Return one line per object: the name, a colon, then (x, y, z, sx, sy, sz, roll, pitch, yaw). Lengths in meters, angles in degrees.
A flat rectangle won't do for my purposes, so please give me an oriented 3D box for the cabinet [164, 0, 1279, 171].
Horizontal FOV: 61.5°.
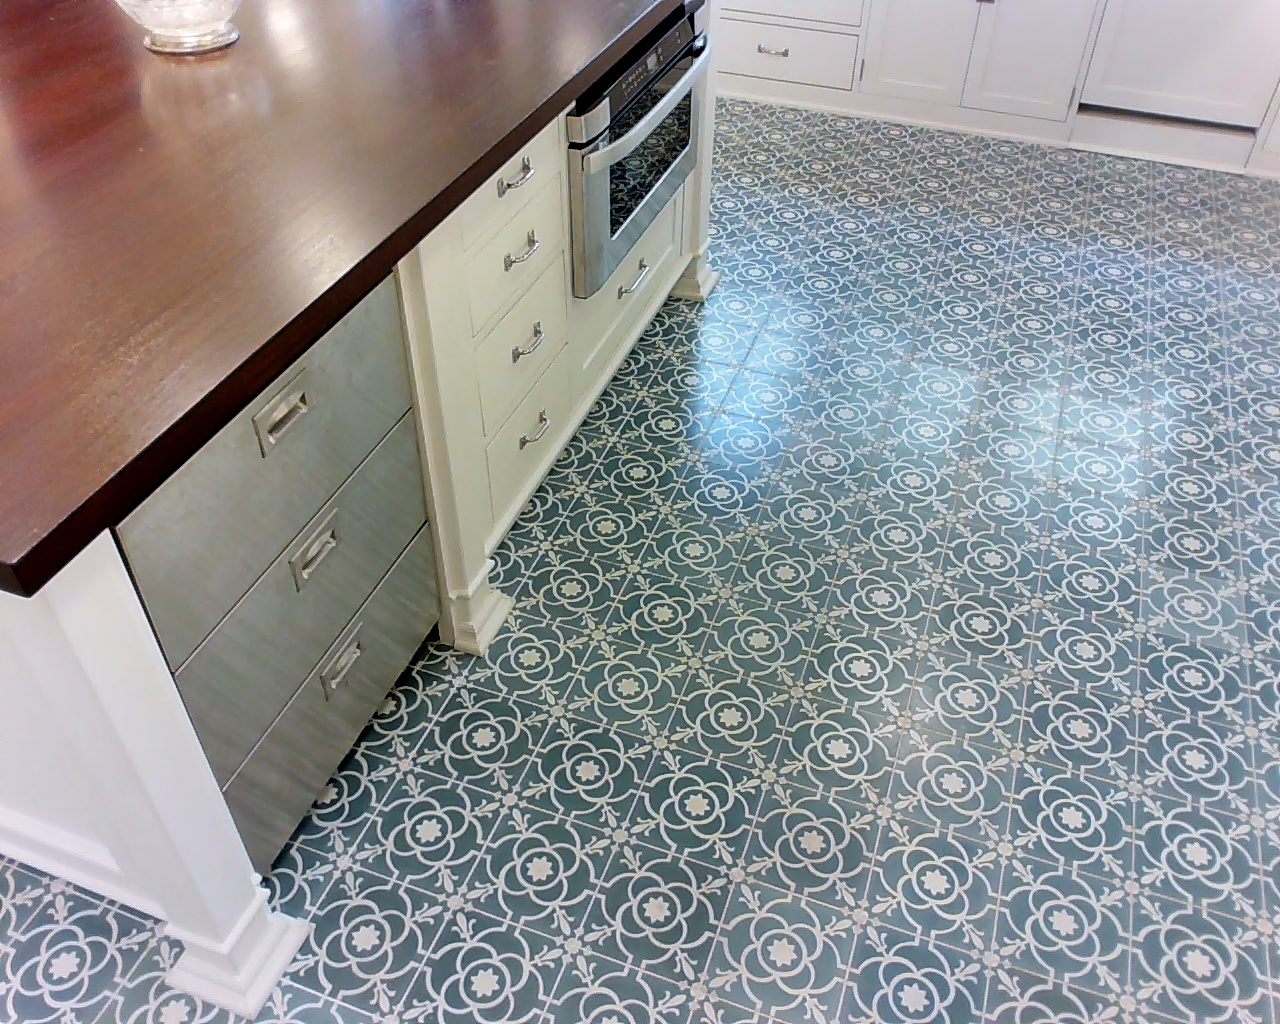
cabinet: (0.660, -1.910, 3.900, 5.930, 0.820, 0.070, 14, 43, 14)
